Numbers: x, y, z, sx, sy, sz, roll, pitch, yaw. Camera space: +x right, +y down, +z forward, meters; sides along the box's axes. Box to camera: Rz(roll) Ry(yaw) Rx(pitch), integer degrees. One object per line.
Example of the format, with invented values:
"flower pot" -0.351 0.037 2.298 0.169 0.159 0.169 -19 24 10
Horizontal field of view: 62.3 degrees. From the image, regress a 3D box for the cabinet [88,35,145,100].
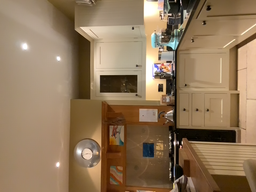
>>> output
"cabinet" -0.190 -0.480 3.710 0.350 0.930 1.070 -9 -80 -82
